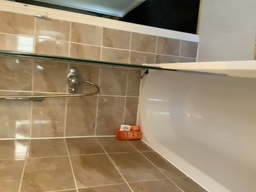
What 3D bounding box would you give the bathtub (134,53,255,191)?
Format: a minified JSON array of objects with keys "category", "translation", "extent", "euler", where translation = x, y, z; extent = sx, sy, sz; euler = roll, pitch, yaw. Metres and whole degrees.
[{"category":"bathtub","translation":[0.650,0.130,1.280],"extent":[1.660,0.560,0.680],"euler":[-159,73,-67]}]
